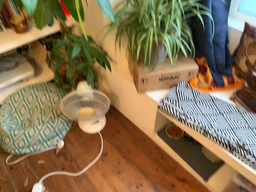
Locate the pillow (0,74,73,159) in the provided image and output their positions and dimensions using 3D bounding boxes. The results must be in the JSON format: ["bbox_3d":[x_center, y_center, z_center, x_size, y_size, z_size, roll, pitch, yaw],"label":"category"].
[{"bbox_3d":[-0.710,0.140,1.620,0.480,0.310,0.480,-10,47,-10],"label":"pillow"}]
